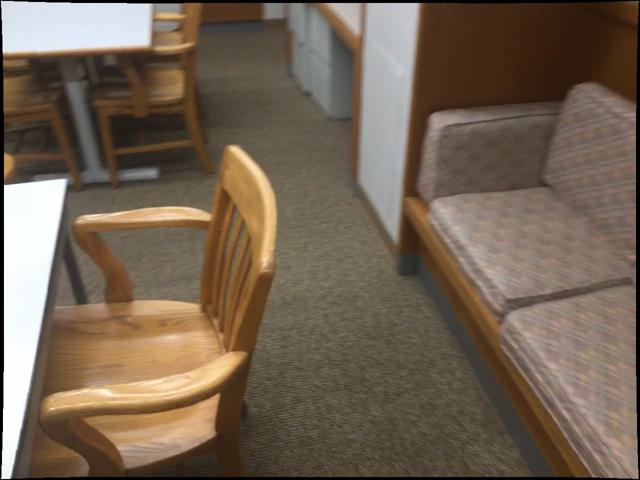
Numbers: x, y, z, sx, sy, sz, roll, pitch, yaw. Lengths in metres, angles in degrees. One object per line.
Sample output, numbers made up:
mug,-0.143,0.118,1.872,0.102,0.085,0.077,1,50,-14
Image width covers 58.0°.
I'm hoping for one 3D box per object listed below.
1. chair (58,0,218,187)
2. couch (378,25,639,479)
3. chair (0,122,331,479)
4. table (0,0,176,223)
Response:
chair,-0.838,-0.802,2.720,0.539,0.741,0.741,-9,43,-14
couch,0.748,0.211,1.390,0.579,0.771,1.762,-6,42,-14
chair,-0.399,0.281,1.320,0.589,0.861,0.620,-6,42,-17
table,-1.267,-0.892,2.970,0.788,0.821,1.451,-10,38,-13
